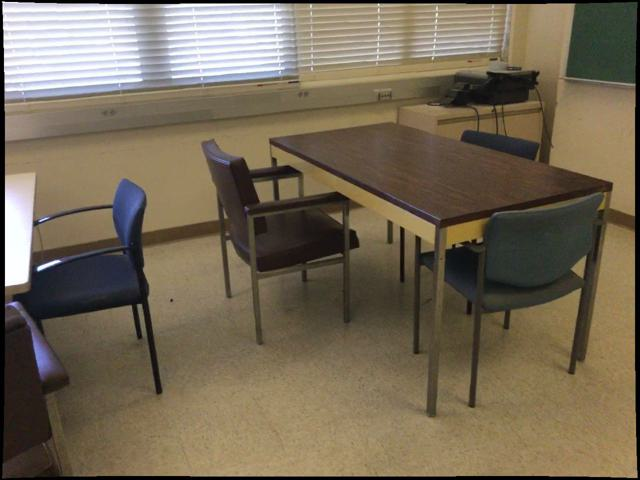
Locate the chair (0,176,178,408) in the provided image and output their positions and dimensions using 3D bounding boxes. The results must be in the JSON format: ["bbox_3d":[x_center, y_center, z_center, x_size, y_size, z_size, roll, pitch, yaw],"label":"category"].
[{"bbox_3d":[-0.938,0.170,2.310,0.549,0.661,0.530,-12,25,-20],"label":"chair"}]

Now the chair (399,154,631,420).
[{"bbox_3d":[0.698,0.140,2.230,0.579,0.762,0.540,-12,25,-20],"label":"chair"}]

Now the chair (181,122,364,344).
[{"bbox_3d":[-0.229,-0.080,2.730,0.629,0.762,0.670,-12,25,-20],"label":"chair"}]
